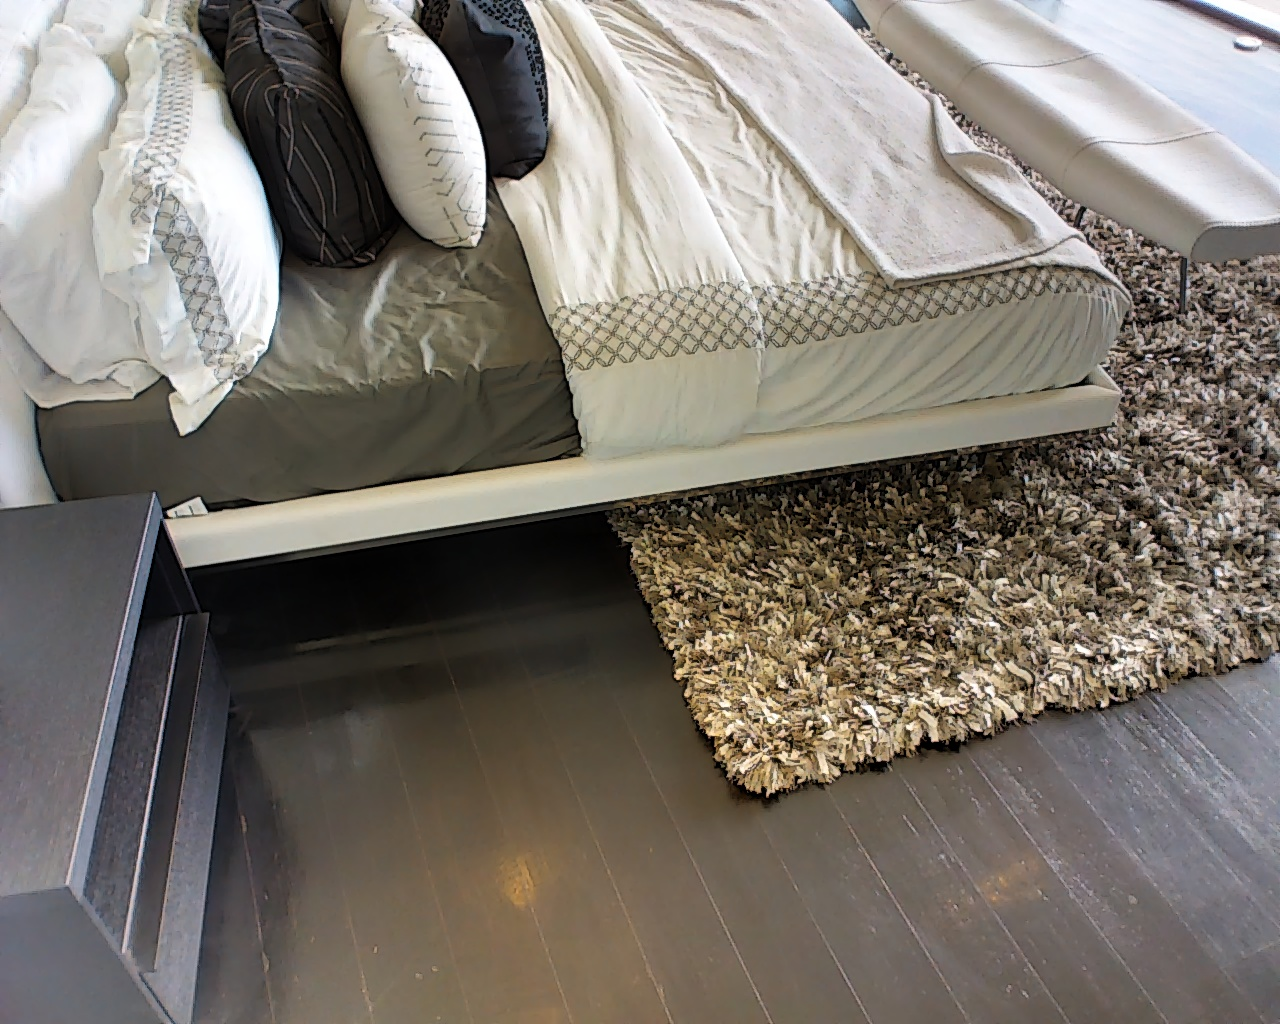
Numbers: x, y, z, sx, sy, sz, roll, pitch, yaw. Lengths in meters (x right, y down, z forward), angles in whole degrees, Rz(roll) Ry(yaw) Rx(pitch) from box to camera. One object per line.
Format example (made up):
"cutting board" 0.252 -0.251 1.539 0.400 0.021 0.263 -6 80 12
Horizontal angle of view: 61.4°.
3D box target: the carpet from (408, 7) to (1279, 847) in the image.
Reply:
"carpet" 0.820 -0.790 3.140 2.450 0.100 3.250 -12 44 -14
